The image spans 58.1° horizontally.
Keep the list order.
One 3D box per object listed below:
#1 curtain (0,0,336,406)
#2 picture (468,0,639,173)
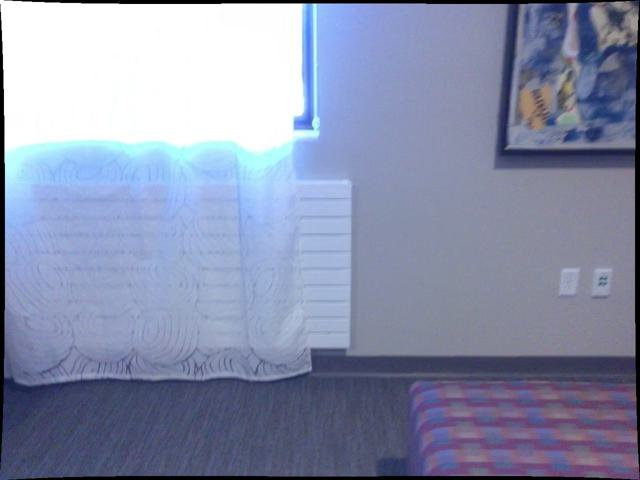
[{"bbox_3d":[-0.769,-0.531,2.260,1.607,2.384,0.510,-1,19,1],"label":"curtain"},{"bbox_3d":[1.038,-0.821,2.110,0.899,1.112,0.150,-1,19,1],"label":"picture"}]
